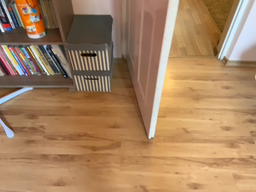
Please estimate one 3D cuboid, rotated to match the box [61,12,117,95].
[{"bbox_3d":[-0.260,-0.320,1.630,0.300,0.480,0.390,2,48,1],"label":"box"}]
